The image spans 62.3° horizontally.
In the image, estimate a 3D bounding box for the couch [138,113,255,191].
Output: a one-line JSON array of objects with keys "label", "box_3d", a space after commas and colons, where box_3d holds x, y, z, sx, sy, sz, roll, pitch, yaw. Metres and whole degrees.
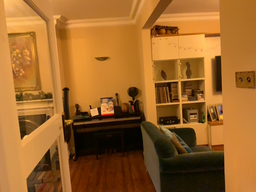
[{"label": "couch", "box_3d": [0.780, 0.790, 2.800, 1.080, 0.840, 1.330, -5, 6, -5]}]

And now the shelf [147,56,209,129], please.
[{"label": "shelf", "box_3d": [0.940, -0.080, 4.040, 1.050, 1.270, 0.320, -5, 6, -5]}]

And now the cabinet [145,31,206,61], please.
[{"label": "cabinet", "box_3d": [0.870, -0.930, 3.960, 1.050, 0.450, 0.310, -5, 6, -5]}]
